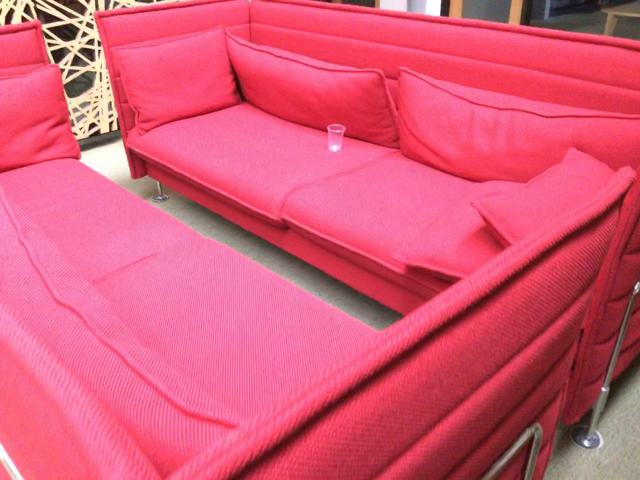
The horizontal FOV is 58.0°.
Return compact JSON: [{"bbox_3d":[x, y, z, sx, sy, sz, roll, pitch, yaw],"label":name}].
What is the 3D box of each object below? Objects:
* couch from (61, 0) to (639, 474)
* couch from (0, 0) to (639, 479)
[{"bbox_3d":[0.120,-0.420,2.260,1.000,1.010,2.480,-28,35,-36],"label":"couch"},{"bbox_3d":[-0.630,-0.030,1.560,0.960,1.060,2.430,-28,35,-36],"label":"couch"}]
